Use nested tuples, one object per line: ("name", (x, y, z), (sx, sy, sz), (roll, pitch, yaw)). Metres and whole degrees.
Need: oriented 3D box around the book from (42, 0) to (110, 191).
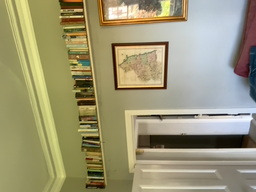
("book", (-0.530, -0.670, 1.900), (0.240, 0.310, 4.220), (-82, -10, -63))
